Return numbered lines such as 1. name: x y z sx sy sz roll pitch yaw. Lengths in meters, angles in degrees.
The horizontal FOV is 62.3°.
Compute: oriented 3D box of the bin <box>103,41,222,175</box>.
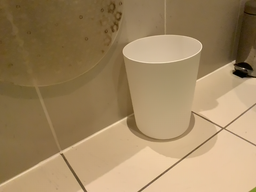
1. bin: 0.100 0.020 0.610 0.250 0.260 0.170 -25 36 -26
